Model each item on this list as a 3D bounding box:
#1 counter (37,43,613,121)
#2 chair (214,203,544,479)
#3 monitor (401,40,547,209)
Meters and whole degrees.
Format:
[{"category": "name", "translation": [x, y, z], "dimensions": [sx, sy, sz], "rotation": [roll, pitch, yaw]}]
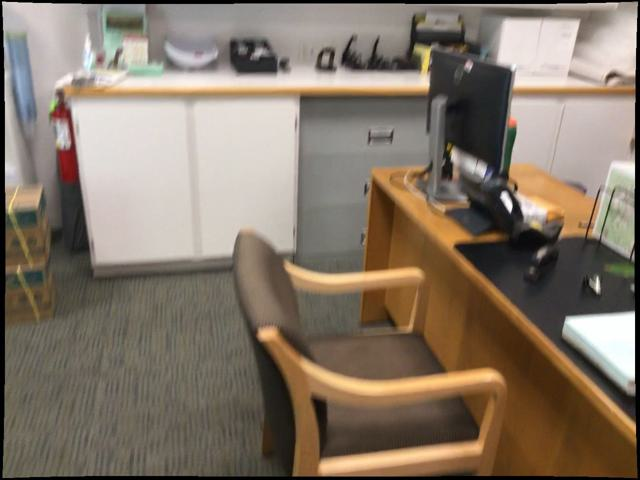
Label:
[{"category": "counter", "translation": [0.080, -0.891, 3.120], "dimensions": [2.797, 0.210, 0.760], "rotation": [-5, 26, -12]}, {"category": "chair", "translation": [0.080, 0.410, 1.650], "dimensions": [0.669, 0.801, 0.670], "rotation": [-5, 26, -12]}, {"category": "monitor", "translation": [0.509, -0.430, 2.050], "dimensions": [0.250, 0.470, 0.500], "rotation": [-5, 26, -12]}]
